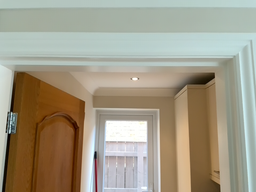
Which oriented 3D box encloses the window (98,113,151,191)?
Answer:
[{"bbox_3d":[-0.040,0.800,2.740,0.650,1.130,0.160,2,-10,-4],"label":"window"}]
